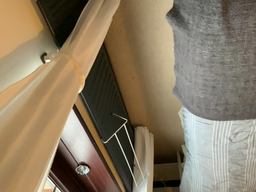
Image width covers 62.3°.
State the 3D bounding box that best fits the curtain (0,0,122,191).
[{"bbox_3d":[-0.270,0.160,0.400,0.140,2.400,0.540,-10,128,13],"label":"curtain"}]
